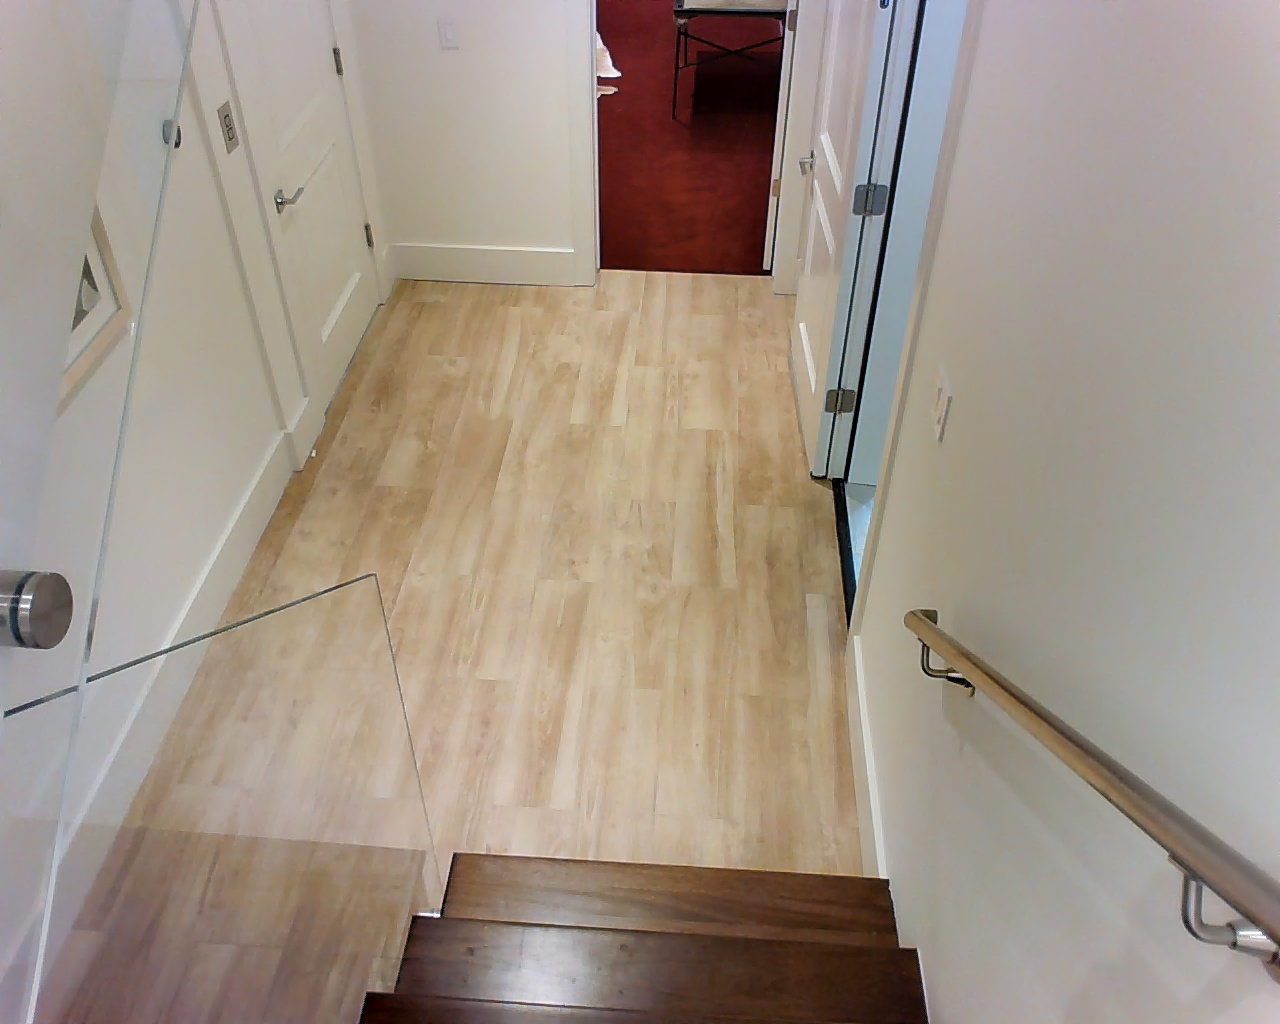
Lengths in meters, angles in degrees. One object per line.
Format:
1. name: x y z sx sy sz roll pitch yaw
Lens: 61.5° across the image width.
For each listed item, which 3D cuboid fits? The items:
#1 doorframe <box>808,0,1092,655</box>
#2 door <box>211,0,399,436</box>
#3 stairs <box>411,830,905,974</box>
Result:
1. doorframe: 0.770 -0.670 3.050 0.320 2.170 0.900 3 41 3
2. door: -1.210 -1.500 3.950 0.060 2.220 1.100 3 41 3
3. stairs: 0.040 0.950 2.620 1.140 0.250 0.160 3 41 3
